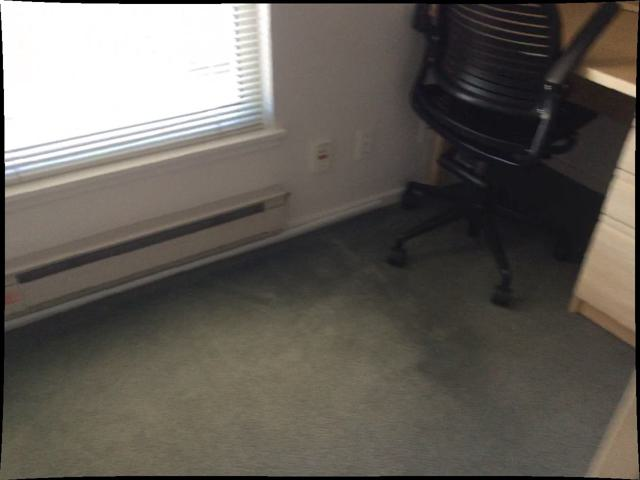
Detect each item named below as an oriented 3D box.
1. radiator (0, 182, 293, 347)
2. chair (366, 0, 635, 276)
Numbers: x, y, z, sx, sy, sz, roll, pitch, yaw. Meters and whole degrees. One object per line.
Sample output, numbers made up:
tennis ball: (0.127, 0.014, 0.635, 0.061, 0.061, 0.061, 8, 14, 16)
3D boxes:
radiator: (-0.509, 0.050, 1.790, 0.949, 0.230, 0.070, -19, 42, -29)
chair: (0.479, -0.411, 1.810, 0.250, 0.791, 0.640, -19, 42, -29)
